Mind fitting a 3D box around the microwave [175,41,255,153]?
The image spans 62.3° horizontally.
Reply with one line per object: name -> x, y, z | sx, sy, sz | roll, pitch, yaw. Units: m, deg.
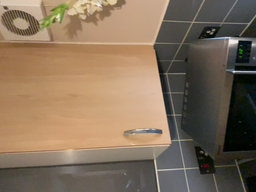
microwave -> 0.440, -0.030, 0.990 | 0.380, 0.280, 0.430 | -120, 31, -73
